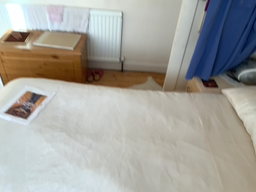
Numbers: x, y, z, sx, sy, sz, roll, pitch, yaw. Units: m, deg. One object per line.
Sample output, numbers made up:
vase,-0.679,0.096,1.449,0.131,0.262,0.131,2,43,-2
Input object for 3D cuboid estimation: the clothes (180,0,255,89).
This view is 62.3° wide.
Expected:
clothes,0.790,-0.650,1.260,0.630,1.330,0.220,5,40,-1
